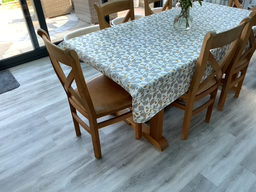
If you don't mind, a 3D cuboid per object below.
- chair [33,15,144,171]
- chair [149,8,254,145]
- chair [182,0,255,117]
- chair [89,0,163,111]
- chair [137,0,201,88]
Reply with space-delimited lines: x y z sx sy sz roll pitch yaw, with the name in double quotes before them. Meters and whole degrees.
"chair" -0.240 -0.020 1.590 0.510 0.940 0.480 -26 42 -29
"chair" 0.530 -0.160 1.760 0.460 0.920 0.490 -22 41 -25
"chair" 0.900 -0.360 2.020 0.420 0.910 0.490 -30 45 -33
"chair" -0.010 -0.420 2.120 0.430 0.930 0.490 -26 43 -28
"chair" 0.430 -0.660 2.420 0.430 0.940 0.490 -29 44 -31
